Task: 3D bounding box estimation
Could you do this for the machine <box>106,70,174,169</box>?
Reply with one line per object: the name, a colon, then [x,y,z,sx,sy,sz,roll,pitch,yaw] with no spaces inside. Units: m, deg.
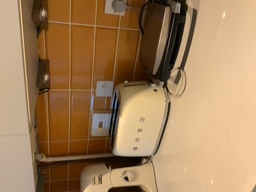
machine: [0.030,0.110,1.010,0.230,0.200,0.400,-115,30,-55]
